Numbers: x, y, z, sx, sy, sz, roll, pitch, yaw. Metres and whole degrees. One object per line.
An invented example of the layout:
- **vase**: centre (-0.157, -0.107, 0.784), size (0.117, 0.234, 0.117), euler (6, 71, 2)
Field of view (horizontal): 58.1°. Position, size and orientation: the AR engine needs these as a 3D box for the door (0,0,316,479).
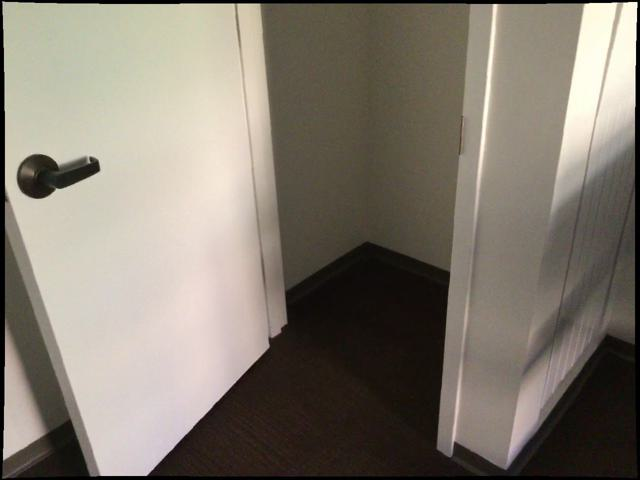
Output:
- **door**: centre (-0.399, -0.391, 1.450), size (0.230, 2.084, 1.070), euler (11, 33, 23)
